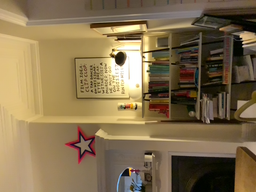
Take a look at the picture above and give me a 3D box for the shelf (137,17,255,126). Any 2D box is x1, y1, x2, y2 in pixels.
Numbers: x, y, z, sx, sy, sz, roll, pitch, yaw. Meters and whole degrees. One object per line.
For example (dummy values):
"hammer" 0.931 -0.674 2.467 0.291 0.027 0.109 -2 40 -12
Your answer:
"shelf" 0.830 -0.270 2.620 0.440 1.380 1.190 -41 -50 -80

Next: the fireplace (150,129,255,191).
"fireplace" 0.900 1.240 2.520 0.740 1.240 1.510 -41 -50 -80
